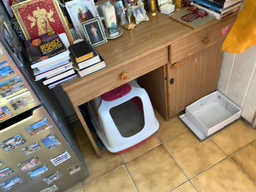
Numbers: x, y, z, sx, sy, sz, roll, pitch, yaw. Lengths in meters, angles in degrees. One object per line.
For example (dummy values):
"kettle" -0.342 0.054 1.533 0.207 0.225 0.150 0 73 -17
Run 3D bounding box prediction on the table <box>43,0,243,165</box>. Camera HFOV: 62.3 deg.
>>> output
"table" 0.110 -0.150 1.480 1.020 0.760 0.520 -25 46 -12
